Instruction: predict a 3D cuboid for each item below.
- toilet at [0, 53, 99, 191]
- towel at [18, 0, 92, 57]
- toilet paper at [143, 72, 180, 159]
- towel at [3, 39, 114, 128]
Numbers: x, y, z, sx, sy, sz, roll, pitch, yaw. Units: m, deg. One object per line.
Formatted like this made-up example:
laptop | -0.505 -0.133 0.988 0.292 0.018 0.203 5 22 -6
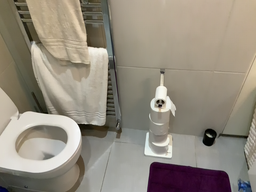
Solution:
toilet | -0.520 0.230 1.150 0.530 0.820 0.380 5 45 8
towel | -0.340 -0.370 1.020 0.260 0.350 0.100 9 53 7
toilet paper | 0.200 0.140 1.320 0.170 0.540 0.230 7 46 10
towel | -0.370 -0.050 1.290 0.510 0.550 0.130 8 49 9
